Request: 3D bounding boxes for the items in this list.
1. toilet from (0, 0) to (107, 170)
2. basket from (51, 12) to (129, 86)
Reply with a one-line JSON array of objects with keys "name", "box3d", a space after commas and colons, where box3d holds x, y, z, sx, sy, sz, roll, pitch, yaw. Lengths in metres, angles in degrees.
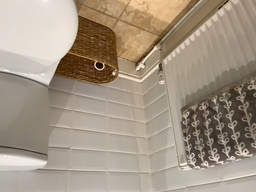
[{"name": "toilet", "box3d": [-0.400, -0.210, 0.770, 0.380, 0.800, 0.660, 13, 148, -29]}, {"name": "basket", "box3d": [-0.210, -0.250, 1.210, 0.370, 0.240, 0.200, 14, 147, -30]}]
